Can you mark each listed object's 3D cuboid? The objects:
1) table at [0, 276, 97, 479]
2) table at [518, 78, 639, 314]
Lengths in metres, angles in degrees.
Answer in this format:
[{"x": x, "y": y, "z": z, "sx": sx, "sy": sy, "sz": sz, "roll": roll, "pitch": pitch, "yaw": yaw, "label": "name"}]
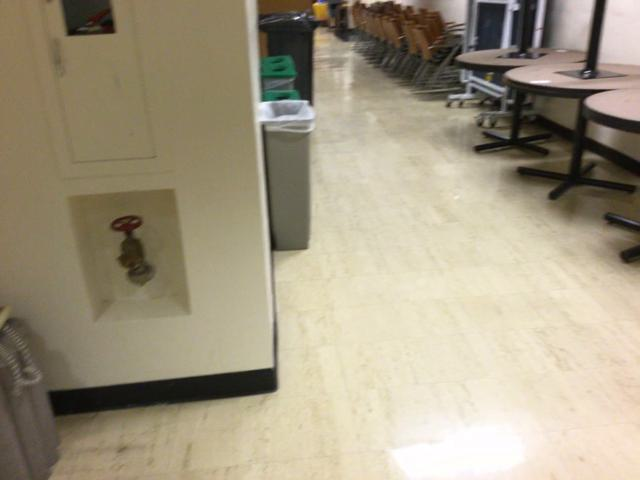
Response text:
[{"x": -1.060, "y": 0.490, "z": 1.720, "sx": 0.530, "sy": 0.550, "sz": 0.470, "roll": -8, "pitch": 23, "yaw": -3, "label": "table"}, {"x": 1.780, "y": -0.330, "z": 2.890, "sx": 1.110, "sy": 0.770, "sz": 1.160, "roll": -8, "pitch": 23, "yaw": -3, "label": "table"}]
